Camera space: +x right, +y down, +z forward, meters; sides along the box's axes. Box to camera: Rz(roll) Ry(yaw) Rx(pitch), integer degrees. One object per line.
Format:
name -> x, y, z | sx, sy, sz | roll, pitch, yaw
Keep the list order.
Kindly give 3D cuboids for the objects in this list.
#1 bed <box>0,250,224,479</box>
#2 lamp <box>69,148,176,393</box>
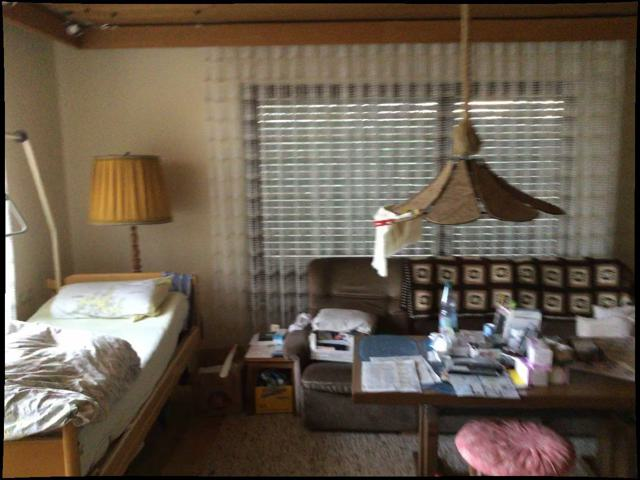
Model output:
bed -> -1.229, 0.691, 2.770 | 1.089, 0.821, 2.190 | 1, 11, 2
lamp -> -1.229, 0.170, 3.700 | 0.430, 1.471, 0.520 | 1, 11, 2
